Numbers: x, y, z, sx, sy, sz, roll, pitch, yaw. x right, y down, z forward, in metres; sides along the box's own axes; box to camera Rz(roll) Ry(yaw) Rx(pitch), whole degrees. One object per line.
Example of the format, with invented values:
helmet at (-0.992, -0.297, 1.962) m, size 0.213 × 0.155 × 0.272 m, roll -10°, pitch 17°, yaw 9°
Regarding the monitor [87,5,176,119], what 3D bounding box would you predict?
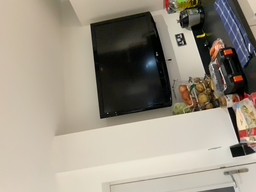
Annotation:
monitor at (-0.010, -0.360, 2.010) m, size 0.060 × 0.670 × 1.070 m, roll 70°, pitch -171°, yaw -68°
